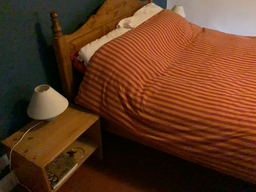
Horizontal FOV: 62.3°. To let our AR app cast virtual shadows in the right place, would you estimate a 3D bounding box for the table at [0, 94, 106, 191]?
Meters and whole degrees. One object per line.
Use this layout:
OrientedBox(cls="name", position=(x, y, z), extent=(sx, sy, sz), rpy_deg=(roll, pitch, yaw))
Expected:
OrientedBox(cls="table", position=(-0.490, 0.370, 1.490), extent=(0.380, 0.470, 0.580), rpy_deg=(17, 38, 23))
